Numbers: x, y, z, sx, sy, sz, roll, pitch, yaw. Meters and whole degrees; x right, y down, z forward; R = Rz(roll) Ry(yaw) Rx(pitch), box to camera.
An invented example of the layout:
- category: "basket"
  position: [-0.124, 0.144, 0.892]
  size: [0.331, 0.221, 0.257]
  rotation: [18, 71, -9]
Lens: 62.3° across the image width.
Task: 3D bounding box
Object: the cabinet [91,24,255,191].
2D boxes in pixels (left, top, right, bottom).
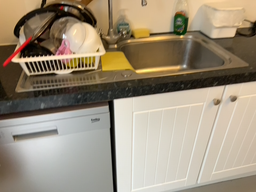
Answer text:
- category: "cabinet"
  position: [0.600, 0.090, 1.440]
  size: [1.550, 0.930, 0.600]
  rotation: [-8, 35, -11]
